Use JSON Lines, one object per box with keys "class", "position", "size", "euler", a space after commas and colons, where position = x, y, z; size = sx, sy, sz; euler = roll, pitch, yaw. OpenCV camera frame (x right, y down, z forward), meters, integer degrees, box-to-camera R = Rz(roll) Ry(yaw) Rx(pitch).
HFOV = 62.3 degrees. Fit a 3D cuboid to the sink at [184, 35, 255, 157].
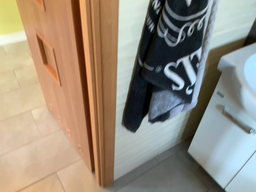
{"class": "sink", "position": [0.650, 0.040, 0.840], "size": [0.470, 0.210, 0.660], "euler": [-23, 50, -26]}
